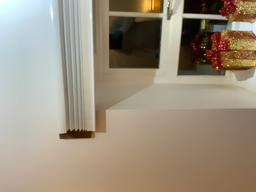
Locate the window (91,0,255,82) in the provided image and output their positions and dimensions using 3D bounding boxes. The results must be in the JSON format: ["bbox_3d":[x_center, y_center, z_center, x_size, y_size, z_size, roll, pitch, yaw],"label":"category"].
[{"bbox_3d":[0.300,-0.510,1.390,0.080,1.070,0.810,-113,24,-73],"label":"window"}]
